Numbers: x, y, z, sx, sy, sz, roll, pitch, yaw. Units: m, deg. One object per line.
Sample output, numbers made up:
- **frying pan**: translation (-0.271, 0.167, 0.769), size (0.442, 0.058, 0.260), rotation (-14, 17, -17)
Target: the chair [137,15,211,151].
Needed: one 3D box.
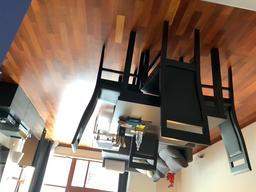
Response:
- **chair**: translation (0.360, -0.110, 1.790), size (0.410, 0.990, 0.480), rotation (8, 153, -3)

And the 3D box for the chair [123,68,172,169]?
- **chair**: translation (0.230, 0.270, 2.510), size (0.390, 1.040, 0.510), rotation (10, 153, -7)

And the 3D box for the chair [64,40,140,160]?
- **chair**: translation (-0.220, 0.030, 2.130), size (0.540, 1.060, 0.400), rotation (9, 153, -4)
